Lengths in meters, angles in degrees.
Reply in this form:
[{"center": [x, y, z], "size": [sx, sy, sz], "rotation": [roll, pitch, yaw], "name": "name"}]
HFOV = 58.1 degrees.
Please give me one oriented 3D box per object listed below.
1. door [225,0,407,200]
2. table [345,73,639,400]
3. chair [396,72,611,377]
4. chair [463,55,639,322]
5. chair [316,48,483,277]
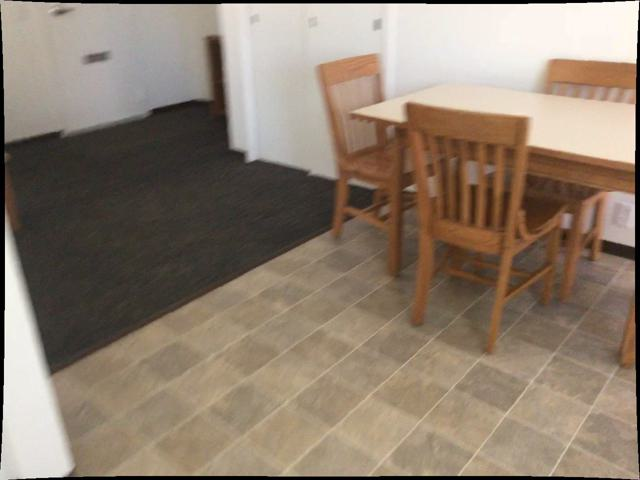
[{"center": [-0.060, -1.142, 3.500], "size": [1.269, 1.602, 0.140], "rotation": [18, 34, 36], "name": "door"}, {"center": [0.998, -0.120, 2.330], "size": [1.489, 0.791, 0.970], "rotation": [18, 34, 36], "name": "table"}, {"center": [0.669, -0.100, 2.170], "size": [0.480, 0.891, 0.640], "rotation": [18, 34, 36], "name": "chair"}, {"center": [1.028, -0.260, 2.500], "size": [0.490, 0.911, 0.660], "rotation": [18, 34, 36], "name": "chair"}, {"center": [0.379, -0.401, 2.780], "size": [0.550, 0.901, 0.520], "rotation": [18, 34, 36], "name": "chair"}]
